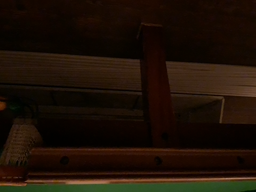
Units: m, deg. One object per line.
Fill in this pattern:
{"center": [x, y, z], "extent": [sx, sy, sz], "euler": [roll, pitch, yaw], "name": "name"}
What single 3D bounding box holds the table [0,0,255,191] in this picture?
{"center": [-0.130, 0.310, 1.720], "extent": [3.050, 0.840, 2.020], "euler": [3, 152, -10], "name": "table"}
